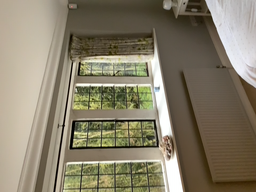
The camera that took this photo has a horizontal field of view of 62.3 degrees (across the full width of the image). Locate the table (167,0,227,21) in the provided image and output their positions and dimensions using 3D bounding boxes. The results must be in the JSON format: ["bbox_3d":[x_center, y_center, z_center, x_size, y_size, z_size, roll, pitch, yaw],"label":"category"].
[{"bbox_3d":[1.020,-1.470,3.150,0.470,0.700,0.460,98,170,-55],"label":"table"}]
